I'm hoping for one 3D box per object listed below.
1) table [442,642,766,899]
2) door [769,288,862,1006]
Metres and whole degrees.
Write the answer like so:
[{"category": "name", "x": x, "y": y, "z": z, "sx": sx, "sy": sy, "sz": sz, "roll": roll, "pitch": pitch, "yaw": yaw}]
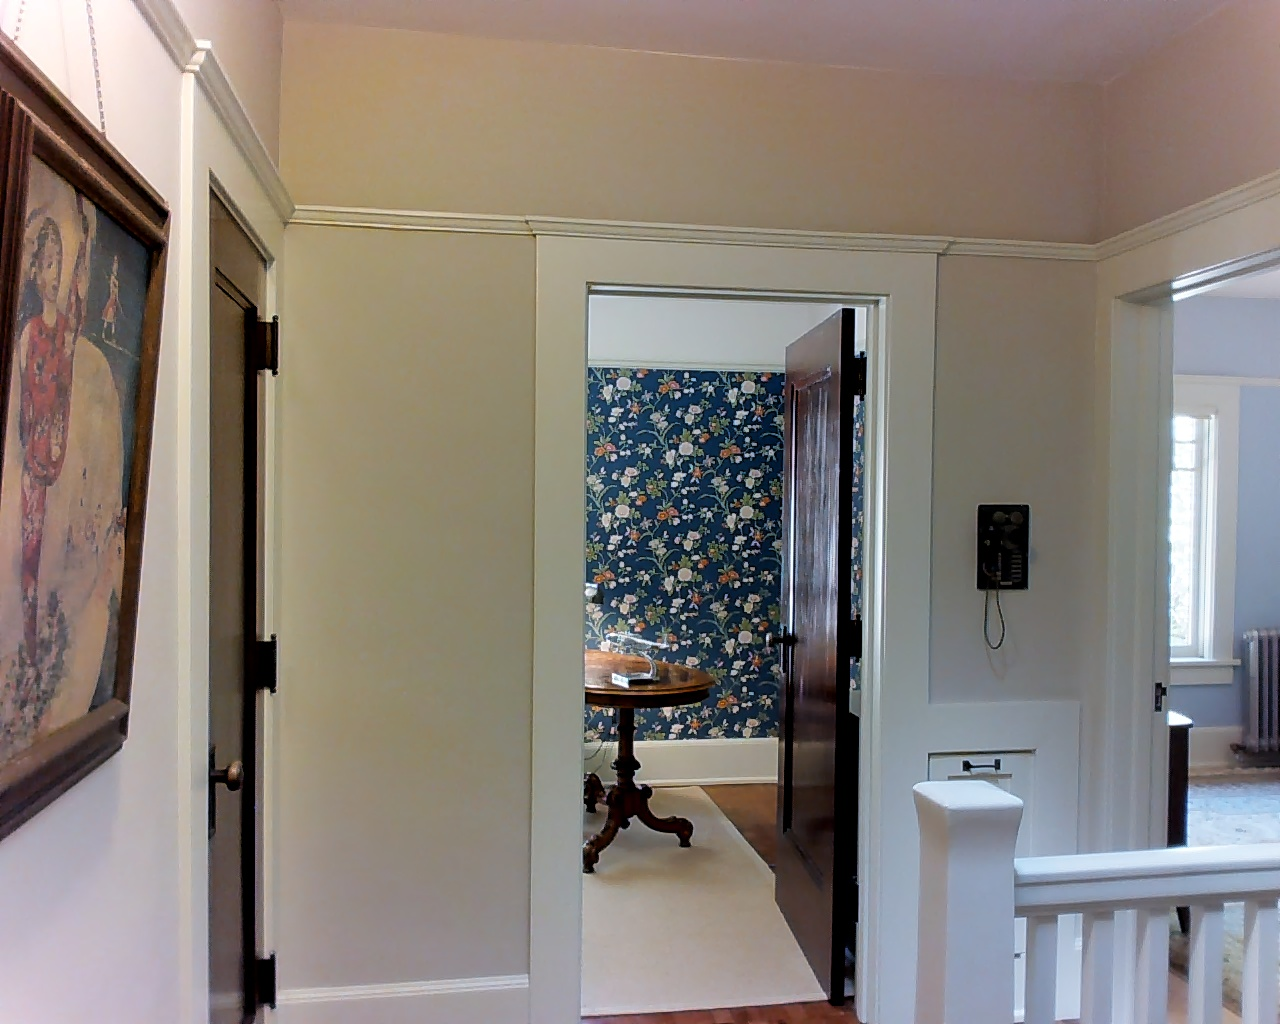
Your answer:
[{"category": "table", "x": -0.190, "y": 1.080, "z": 4.860, "sx": 1.290, "sy": 0.780, "sz": 0.780, "roll": 2, "pitch": 1, "yaw": 45}, {"category": "door", "x": 0.590, "y": 0.410, "z": 3.740, "sx": 0.100, "sy": 2.190, "sz": 0.920, "roll": 1, "pitch": 1, "yaw": -2}]
